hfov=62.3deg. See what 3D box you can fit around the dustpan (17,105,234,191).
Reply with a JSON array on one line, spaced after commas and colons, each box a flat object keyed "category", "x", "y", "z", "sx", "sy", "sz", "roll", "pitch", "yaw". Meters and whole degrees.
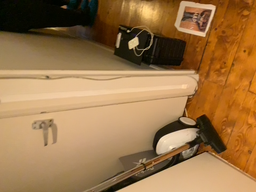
[{"category": "dustpan", "x": 0.080, "y": 0.340, "z": 1.180, "sx": 0.370, "sy": 1.150, "sz": 0.340, "roll": -43, "pitch": 62, "yaw": 43}]
